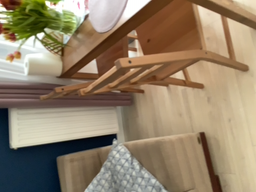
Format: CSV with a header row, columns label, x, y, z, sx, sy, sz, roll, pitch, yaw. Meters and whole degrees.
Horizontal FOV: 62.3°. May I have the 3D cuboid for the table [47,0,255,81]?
label,x,y,z,sx,sy,sz,roll,pitch,yaw
table,0.040,-0.610,1.400,1.160,0.740,0.730,-18,76,51

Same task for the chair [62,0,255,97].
label,x,y,z,sx,sy,sz,roll,pitch,yaw
chair,0.190,-0.300,1.090,0.420,0.880,0.510,-24,72,50
